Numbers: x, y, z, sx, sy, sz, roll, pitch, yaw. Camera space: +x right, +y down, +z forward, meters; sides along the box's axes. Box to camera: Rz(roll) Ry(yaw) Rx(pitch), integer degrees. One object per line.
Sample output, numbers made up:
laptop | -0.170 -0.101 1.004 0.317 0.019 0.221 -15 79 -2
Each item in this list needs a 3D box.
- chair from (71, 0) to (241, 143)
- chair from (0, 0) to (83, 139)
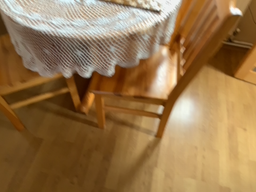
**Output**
chair | 0.090 -0.180 1.150 0.510 0.940 0.460 9 56 3
chair | -0.600 -0.220 1.120 0.510 0.950 0.390 -18 59 -15
